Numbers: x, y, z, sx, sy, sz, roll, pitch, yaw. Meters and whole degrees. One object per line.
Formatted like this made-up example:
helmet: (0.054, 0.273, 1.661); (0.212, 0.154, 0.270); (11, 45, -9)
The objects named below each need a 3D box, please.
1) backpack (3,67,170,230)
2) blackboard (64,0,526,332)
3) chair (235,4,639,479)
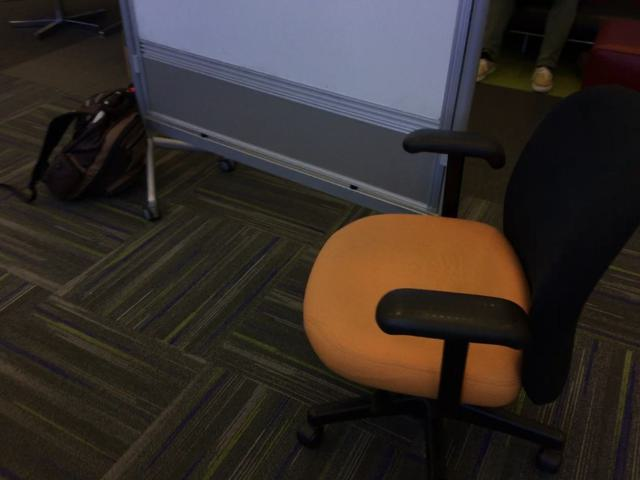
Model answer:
backpack: (-0.880, -0.370, 2.250); (0.400, 0.420, 0.400); (23, 37, 20)
blackboard: (-0.170, -0.730, 1.640); (1.410, 1.700, 0.290); (25, 42, 23)
chair: (0.270, 0.090, 1.250); (0.660, 0.910, 0.680); (14, 35, 9)
